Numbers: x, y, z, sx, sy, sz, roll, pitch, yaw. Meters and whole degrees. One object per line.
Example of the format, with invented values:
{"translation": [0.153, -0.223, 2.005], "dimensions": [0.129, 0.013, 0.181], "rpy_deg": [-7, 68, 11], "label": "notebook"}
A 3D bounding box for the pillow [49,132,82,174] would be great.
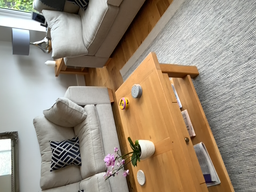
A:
{"translation": [-0.820, 0.740, 2.770], "dimensions": [0.190, 0.350, 0.450], "rpy_deg": [134, 128, -66], "label": "pillow"}

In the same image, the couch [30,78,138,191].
{"translation": [-0.610, 1.030, 2.690], "dimensions": [1.040, 0.950, 2.250], "rpy_deg": [-43, 54, 51], "label": "couch"}

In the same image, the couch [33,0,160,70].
{"translation": [-0.320, -1.300, 2.230], "dimensions": [2.240, 0.960, 0.990], "rpy_deg": [-42, 55, 51], "label": "couch"}

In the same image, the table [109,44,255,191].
{"translation": [0.330, 0.370, 1.570], "dimensions": [0.680, 0.470, 1.270], "rpy_deg": [-43, 54, 51], "label": "table"}
